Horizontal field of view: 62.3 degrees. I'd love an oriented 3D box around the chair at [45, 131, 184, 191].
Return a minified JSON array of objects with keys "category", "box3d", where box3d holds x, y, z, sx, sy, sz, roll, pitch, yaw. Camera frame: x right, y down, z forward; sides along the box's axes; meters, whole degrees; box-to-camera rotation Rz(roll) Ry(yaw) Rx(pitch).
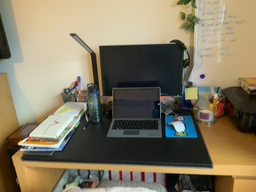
[{"category":"chair","box3d":[-0.010,0.630,1.010,0.480,0.750,0.530,-1,19,8]}]
